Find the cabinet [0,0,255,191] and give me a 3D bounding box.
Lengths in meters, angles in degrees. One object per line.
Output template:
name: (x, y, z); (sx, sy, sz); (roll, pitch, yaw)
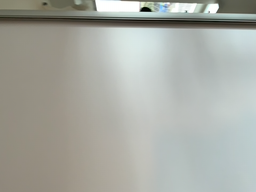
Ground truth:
cabinet: (0.450, -0.300, 1.270); (0.660, 2.640, 1.850); (92, 180, -73)
